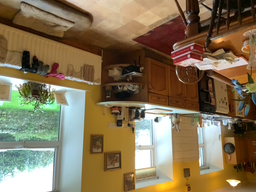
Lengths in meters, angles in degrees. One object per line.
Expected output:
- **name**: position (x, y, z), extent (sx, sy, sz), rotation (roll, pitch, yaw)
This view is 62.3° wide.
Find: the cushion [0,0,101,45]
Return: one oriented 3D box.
- **cushion**: position (-0.990, -0.900, 2.360), extent (0.670, 0.120, 1.200), rotation (-11, 165, 43)
